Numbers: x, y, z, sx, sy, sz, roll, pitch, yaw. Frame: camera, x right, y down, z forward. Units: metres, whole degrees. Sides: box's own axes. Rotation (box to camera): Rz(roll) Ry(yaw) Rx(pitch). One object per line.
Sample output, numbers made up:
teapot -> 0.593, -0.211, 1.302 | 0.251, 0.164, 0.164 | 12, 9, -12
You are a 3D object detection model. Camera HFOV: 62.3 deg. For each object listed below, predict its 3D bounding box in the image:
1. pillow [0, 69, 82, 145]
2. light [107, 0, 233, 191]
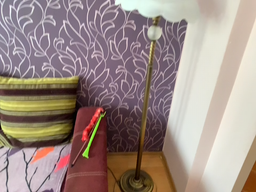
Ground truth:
pillow -> -0.640, 0.090, 1.510 | 0.570, 0.460, 0.200 | 5, 27, -14
light -> 0.120, 0.090, 1.420 | 0.480, 1.510, 0.540 | 0, 29, -8
